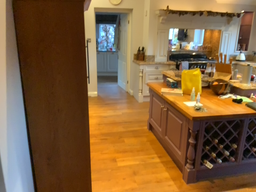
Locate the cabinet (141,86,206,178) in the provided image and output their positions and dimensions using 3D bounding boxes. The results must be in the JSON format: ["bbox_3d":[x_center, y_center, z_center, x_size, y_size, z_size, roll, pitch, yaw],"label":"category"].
[{"bbox_3d":[0.510,0.370,2.890,0.260,0.720,1.340,-2,17,-13],"label":"cabinet"}]

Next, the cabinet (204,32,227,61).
[{"bbox_3d":[2.200,-1.250,5.350,0.310,0.680,0.320,-2,17,-12],"label":"cabinet"}]
